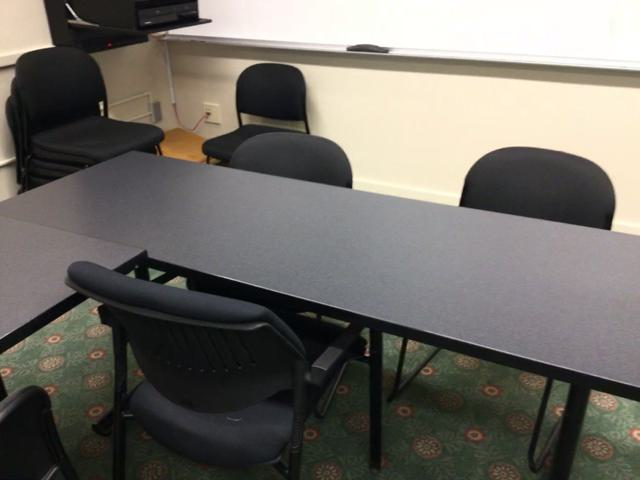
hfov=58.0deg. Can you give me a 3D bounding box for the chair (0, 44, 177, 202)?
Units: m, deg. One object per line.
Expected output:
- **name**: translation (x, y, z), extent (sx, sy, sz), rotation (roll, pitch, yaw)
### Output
- **chair**: translation (-1.030, -0.530, 2.480), extent (0.620, 0.550, 0.430), rotation (10, 25, 26)

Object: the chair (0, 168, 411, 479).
- **chair**: translation (-0.190, 0.180, 1.310), extent (0.580, 0.480, 0.650), rotation (11, 25, 26)

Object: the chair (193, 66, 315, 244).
- **chair**: translation (-0.310, -0.460, 2.970), extent (0.360, 0.780, 0.510), rotation (10, 25, 26)
